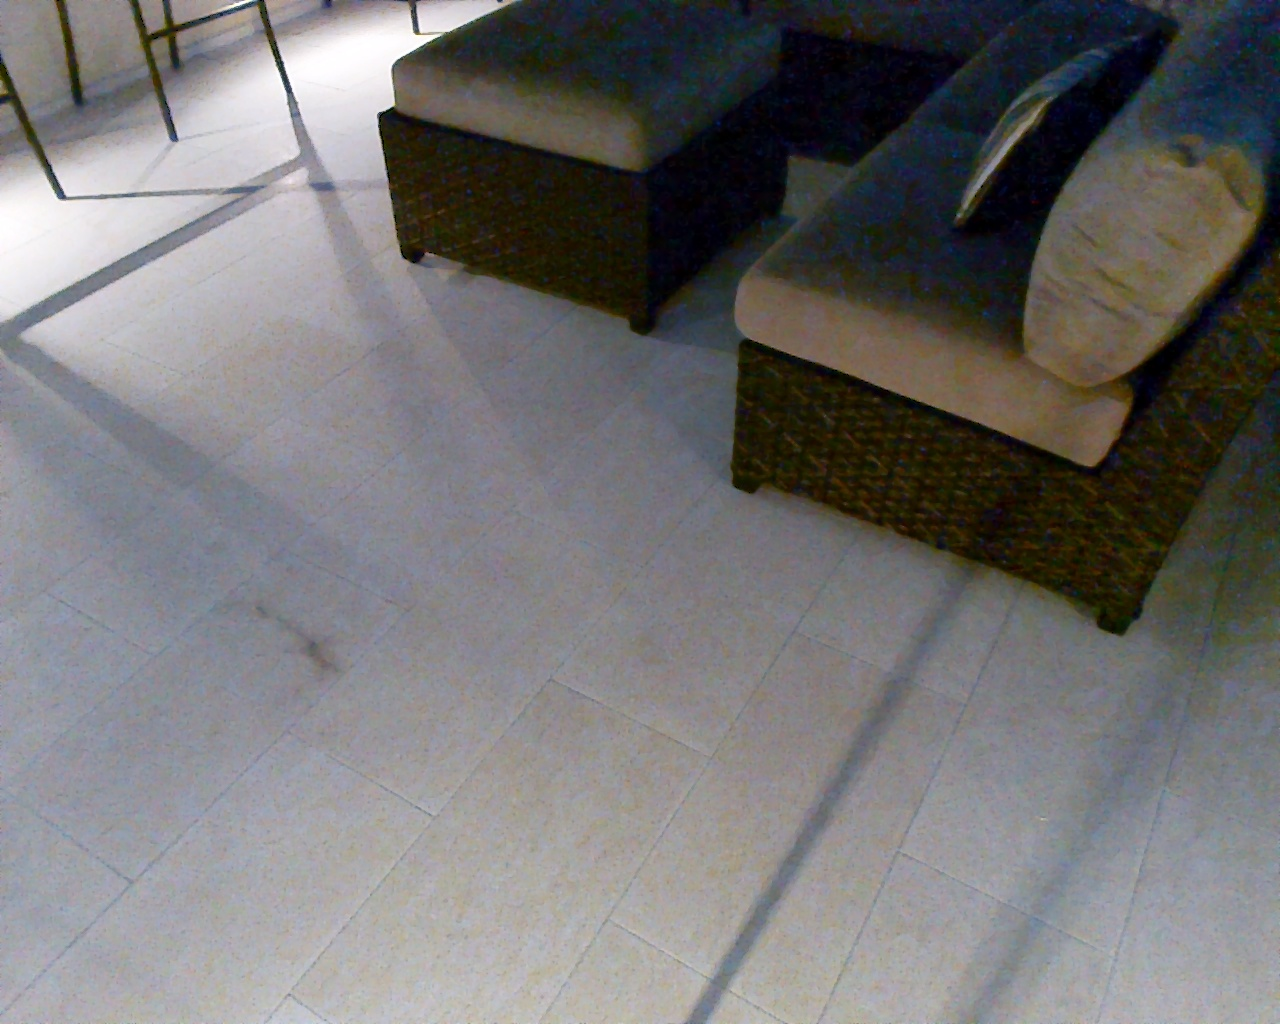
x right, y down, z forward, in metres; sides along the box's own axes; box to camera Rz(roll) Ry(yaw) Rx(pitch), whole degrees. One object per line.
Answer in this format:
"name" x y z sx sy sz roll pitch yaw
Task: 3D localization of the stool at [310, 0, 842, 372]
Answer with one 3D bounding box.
"stool" -0.130 -0.970 2.820 0.980 0.610 0.870 21 46 25
